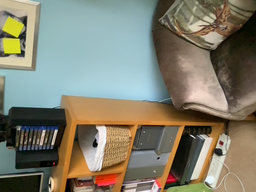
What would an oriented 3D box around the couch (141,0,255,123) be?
[{"bbox_3d":[0.580,-0.350,1.130,0.700,0.610,0.740,-51,43,46],"label":"couch"}]
